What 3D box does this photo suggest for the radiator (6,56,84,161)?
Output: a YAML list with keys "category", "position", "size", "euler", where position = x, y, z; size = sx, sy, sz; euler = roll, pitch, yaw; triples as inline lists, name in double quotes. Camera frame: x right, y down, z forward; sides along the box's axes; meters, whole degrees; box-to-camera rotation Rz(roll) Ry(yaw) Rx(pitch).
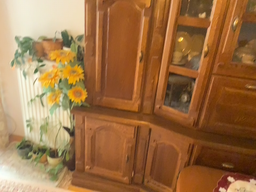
- category: "radiator"
  position: [-0.760, 0.130, 2.020]
  size: [0.650, 0.910, 0.160]
  euler: [11, 24, 11]
